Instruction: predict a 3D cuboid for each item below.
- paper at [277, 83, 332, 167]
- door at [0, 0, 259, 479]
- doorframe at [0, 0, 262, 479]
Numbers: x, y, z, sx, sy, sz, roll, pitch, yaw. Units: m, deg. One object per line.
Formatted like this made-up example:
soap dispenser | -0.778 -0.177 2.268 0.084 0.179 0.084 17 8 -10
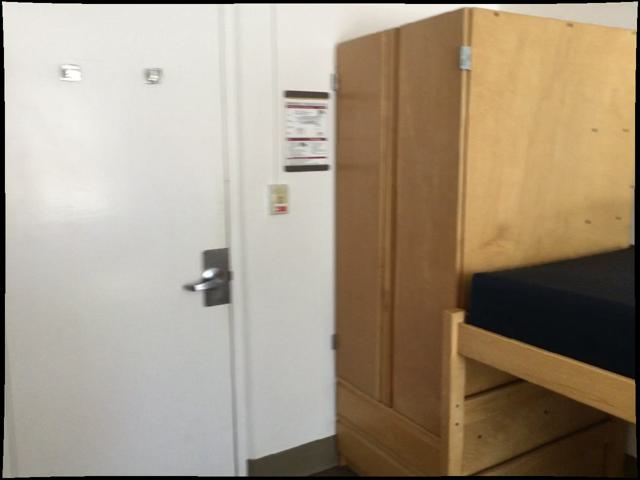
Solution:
paper | -0.060 -0.460 2.330 0.220 0.320 0.040 -7 11 -30
door | -0.699 0.090 2.030 0.939 2.012 0.100 -7 11 -30
doorframe | -0.699 0.000 2.040 0.979 1.992 0.060 -7 11 -30
